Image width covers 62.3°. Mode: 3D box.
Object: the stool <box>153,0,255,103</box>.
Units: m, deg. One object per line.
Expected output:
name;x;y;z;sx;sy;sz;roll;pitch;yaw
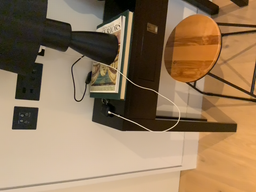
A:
stool;0.460;-0.200;1.140;0.390;0.450;0.400;12;94;54

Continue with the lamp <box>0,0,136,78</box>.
lamp;-0.270;-0.230;0.670;0.300;0.490;0.270;5;88;54

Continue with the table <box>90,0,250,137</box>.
table;0.270;-0.230;1.100;0.260;0.800;0.820;5;88;54
